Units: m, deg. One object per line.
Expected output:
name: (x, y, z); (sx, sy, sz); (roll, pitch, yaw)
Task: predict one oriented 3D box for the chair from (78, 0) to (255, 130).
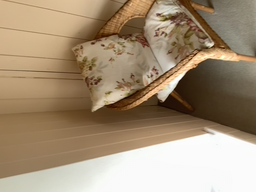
chair: (0.230, -0.250, 1.320); (0.600, 0.780, 0.600); (-54, 51, 39)
